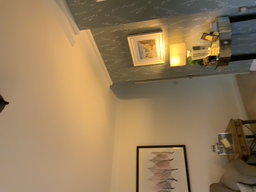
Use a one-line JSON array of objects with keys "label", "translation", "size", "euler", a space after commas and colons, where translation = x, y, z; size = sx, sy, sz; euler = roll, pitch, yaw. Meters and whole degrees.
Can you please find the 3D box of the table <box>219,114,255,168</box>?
[{"label": "table", "translation": [1.810, 0.720, 3.320], "size": [0.700, 0.500, 0.590], "euler": [72, -163, -54]}]
